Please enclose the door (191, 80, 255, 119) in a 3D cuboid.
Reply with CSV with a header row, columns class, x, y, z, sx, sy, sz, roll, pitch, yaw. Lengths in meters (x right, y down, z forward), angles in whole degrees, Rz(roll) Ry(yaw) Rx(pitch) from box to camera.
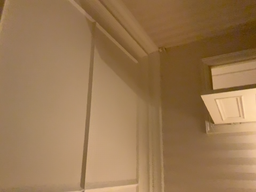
class,x,y,z,sx,sy,sz,roll,pitch,yaw
door,1.800,-0.020,2.030,0.830,2.160,0.060,40,-132,-52
